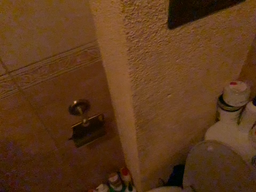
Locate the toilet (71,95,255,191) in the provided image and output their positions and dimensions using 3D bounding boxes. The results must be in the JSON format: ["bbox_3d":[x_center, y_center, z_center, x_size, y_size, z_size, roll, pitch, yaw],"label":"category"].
[{"bbox_3d":[0.220,0.500,0.910,0.620,0.780,0.380,-25,51,-15],"label":"toilet"}]
